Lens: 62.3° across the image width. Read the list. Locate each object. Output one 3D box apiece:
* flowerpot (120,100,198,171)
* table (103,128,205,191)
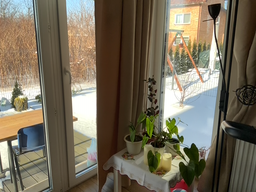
[{"bbox_3d":[0.280,0.310,1.940,0.470,0.380,0.520,14,19,41],"label":"flowerpot"},{"bbox_3d":[0.240,0.720,2.050,0.700,0.470,0.660,14,19,42],"label":"table"}]
